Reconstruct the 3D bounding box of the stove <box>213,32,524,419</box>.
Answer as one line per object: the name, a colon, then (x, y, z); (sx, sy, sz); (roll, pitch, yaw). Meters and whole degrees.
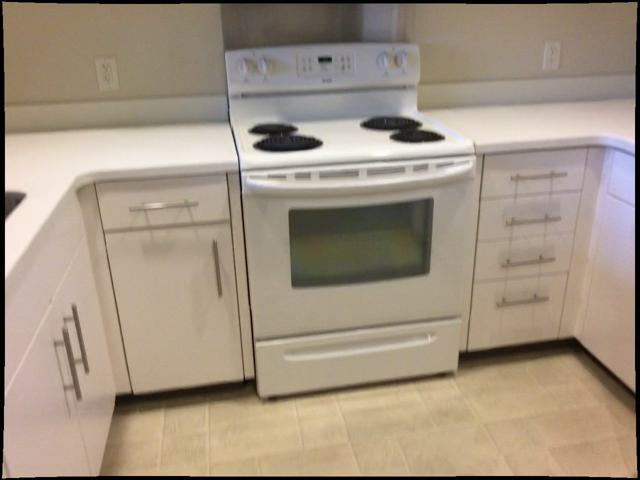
stove: (0.110, -0.110, 2.200); (0.898, 1.223, 0.720); (-5, 23, -10)
